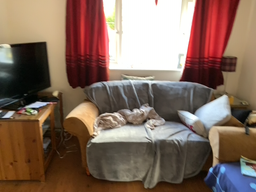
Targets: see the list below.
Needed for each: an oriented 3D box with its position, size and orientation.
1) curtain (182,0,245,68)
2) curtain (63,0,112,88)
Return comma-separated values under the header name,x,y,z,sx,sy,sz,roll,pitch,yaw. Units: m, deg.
name,x,y,z,sx,sy,sz,roll,pitch,yaw
curtain,1.140,-0.960,2.870,0.620,1.110,0.300,0,18,-5
curtain,-0.520,-0.790,2.860,0.580,1.330,0.280,2,18,-1
